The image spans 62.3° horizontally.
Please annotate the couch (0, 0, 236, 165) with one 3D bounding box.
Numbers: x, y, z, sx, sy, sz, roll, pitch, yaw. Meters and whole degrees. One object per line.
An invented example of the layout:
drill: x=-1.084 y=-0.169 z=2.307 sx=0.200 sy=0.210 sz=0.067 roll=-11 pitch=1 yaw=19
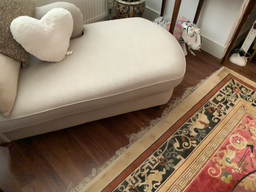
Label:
couch: x=-0.360 y=-0.250 z=1.260 sx=1.440 sy=0.830 sz=0.740 roll=-13 pitch=51 yaw=-15
